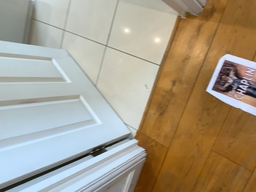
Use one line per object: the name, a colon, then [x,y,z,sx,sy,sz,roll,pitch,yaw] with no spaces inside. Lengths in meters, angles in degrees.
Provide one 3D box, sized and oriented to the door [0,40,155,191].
door: [-0.680,0.090,0.620,0.930,2.030,0.070,51,117,19]
